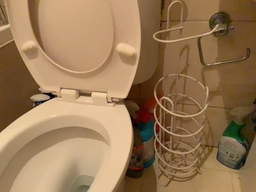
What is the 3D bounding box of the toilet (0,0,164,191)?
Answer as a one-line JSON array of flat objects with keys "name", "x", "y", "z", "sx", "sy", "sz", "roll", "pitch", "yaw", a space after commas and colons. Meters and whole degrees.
[{"name": "toilet", "x": -0.170, "y": 0.050, "z": 0.590, "sx": 0.430, "sy": 0.810, "sz": 0.680, "roll": 6, "pitch": 37, "yaw": 15}]
